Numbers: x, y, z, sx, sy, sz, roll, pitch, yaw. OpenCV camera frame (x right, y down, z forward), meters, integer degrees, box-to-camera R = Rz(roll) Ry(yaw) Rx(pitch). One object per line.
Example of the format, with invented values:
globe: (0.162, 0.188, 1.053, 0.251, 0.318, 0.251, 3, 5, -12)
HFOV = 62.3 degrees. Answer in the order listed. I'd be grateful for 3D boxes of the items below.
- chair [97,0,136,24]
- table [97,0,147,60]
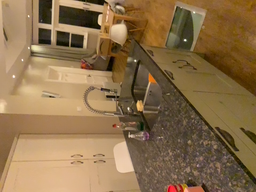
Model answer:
chair: (-0.310, -2.180, 5.320, 0.450, 0.840, 0.510, -119, 37, -60)
table: (-0.250, -1.680, 5.200, 1.640, 0.740, 0.950, -113, 32, -55)
